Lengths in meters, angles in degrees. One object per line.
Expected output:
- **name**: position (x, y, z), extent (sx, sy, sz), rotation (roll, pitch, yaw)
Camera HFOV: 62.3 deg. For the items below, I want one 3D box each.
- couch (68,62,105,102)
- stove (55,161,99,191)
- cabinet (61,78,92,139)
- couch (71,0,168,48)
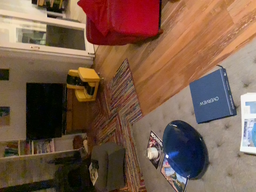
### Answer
- **couch**: position (-0.780, -0.250, 3.870), extent (0.440, 0.470, 0.550), rotation (56, 136, 44)
- **stove**: position (-0.990, 1.590, 4.060), extent (0.500, 0.670, 0.480), rotation (-44, 53, 51)
- **cabinet**: position (-1.080, 0.240, 4.420), extent (0.490, 0.450, 1.170), rotation (22, 109, 58)
- **couch**: position (-0.120, -1.030, 2.350), extent (0.750, 0.820, 0.800), rotation (7, 96, 60)
